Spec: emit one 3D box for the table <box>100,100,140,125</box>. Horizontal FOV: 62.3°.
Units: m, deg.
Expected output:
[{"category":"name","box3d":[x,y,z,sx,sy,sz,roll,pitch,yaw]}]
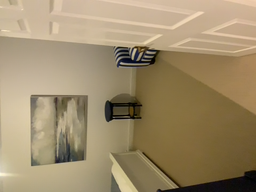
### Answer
[{"category":"table","box3d":[-0.160,0.290,3.950,0.400,0.640,0.390,-161,73,-68]}]
